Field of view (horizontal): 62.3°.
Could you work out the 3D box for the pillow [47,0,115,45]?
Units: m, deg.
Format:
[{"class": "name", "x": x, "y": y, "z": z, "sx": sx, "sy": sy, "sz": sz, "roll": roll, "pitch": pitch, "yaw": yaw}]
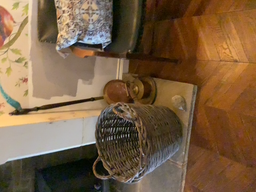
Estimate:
[{"class": "pillow", "x": -0.330, "y": -0.580, "z": 1.470, "sx": 0.320, "sy": 0.340, "sz": 0.400, "roll": 14, "pitch": 103, "yaw": 49}]
